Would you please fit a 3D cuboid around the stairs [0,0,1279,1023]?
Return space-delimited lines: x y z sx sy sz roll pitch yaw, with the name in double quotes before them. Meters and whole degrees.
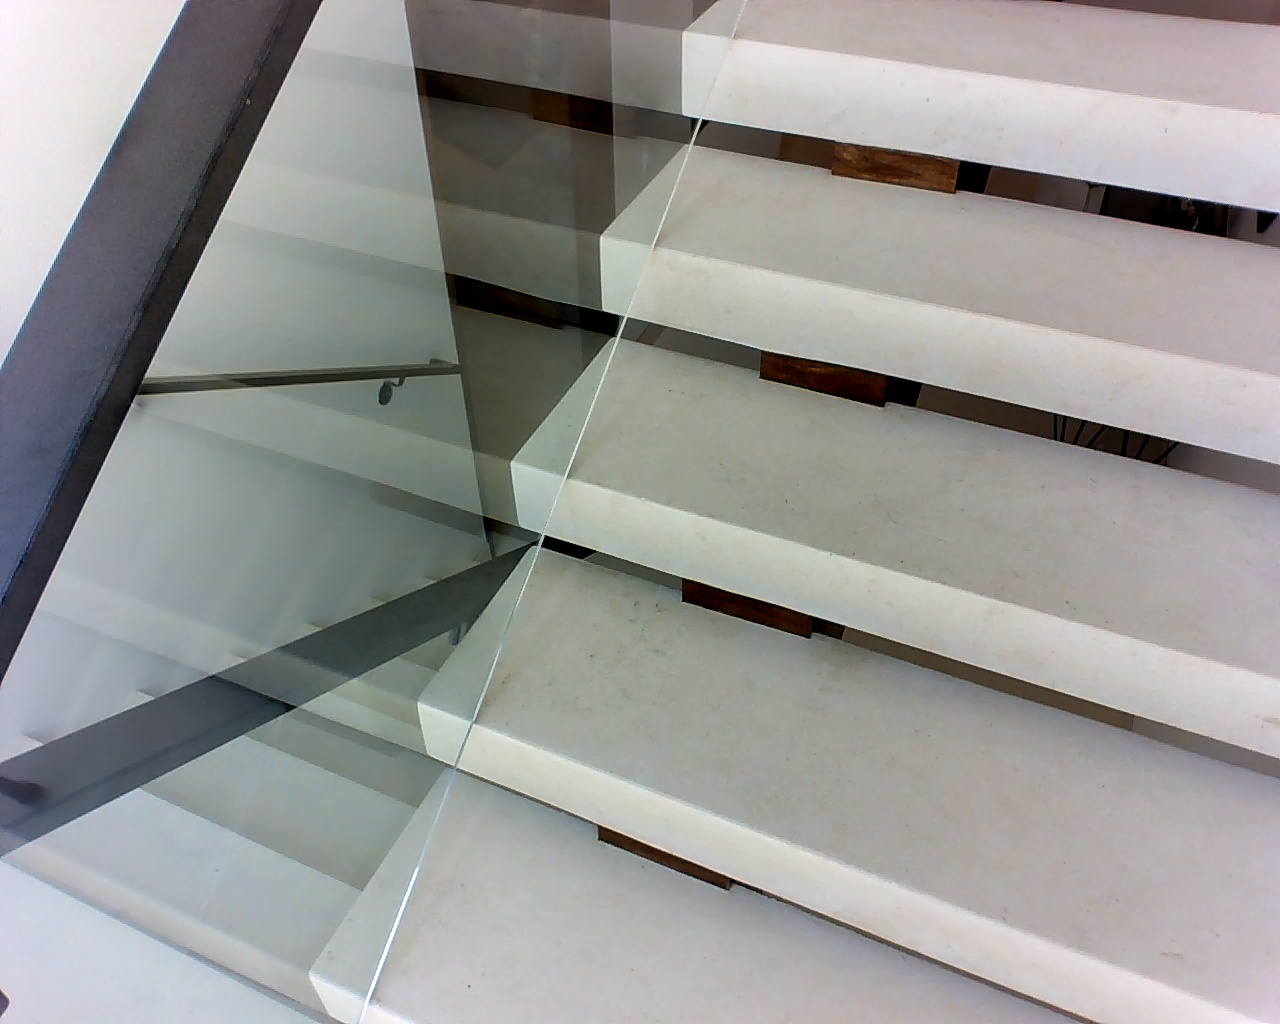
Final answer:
"stairs" 0.490 0.000 1.350 1.210 1.450 2.410 17 46 18
